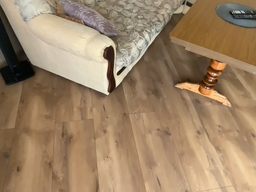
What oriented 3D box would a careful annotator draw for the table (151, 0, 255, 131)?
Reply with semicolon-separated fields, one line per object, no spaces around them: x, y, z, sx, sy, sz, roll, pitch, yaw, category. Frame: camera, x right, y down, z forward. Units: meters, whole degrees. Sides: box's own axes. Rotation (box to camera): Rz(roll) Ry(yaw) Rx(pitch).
0.840;-0.470;1.890;0.710;0.620;1.240;26;52;16;table

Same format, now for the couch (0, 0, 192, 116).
-0.140;-1.000;2.010;1.180;0.990;1.870;24;51;15;couch

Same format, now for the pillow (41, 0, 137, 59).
-0.290;-0.610;1.680;0.600;0.290;0.370;23;51;14;pillow
